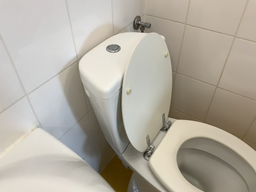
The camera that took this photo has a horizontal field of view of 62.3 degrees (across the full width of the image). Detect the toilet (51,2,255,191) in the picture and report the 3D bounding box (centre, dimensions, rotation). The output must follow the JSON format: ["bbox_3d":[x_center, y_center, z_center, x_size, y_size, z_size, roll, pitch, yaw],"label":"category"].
[{"bbox_3d":[0.200,0.180,0.870,0.720,0.830,0.430,24,48,23],"label":"toilet"}]
